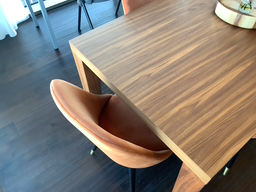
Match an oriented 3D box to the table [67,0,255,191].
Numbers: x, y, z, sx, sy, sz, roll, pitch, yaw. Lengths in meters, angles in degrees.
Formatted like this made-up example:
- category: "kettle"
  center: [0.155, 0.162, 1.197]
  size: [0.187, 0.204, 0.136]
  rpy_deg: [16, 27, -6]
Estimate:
- category: "table"
  center: [0.680, -0.220, 1.490]
  size: [1.810, 0.780, 0.870]
  rpy_deg: [-33, 59, -22]
